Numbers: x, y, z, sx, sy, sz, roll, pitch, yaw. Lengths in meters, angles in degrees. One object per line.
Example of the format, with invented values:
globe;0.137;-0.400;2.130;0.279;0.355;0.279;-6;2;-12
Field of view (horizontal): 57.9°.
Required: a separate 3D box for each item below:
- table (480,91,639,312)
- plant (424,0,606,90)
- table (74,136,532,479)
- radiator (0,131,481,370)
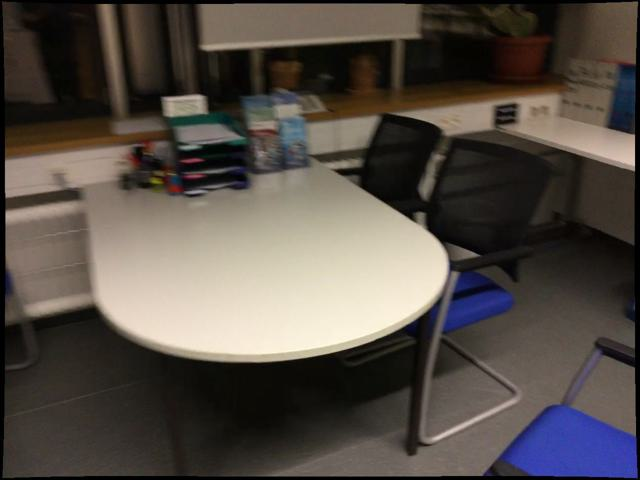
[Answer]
table;1.508;-0.200;2.690;0.679;0.681;1.460;-12;26;-20
plant;1.069;-1.151;3.200;0.879;0.480;0.400;-12;26;-20
table;-0.220;0.230;2.040;1.019;0.751;1.480;-12;26;-20
radiator;-0.420;-0.010;2.750;2.598;0.631;0.300;-12;26;-20
